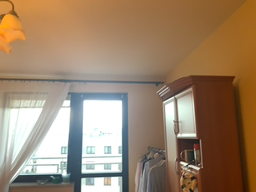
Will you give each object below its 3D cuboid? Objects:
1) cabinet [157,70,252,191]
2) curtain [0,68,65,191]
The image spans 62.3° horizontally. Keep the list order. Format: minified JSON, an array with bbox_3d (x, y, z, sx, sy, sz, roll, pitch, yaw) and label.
[{"bbox_3d":[0.590,0.600,1.870,0.390,1.440,0.870,1,-10,-9],"label":"cabinet"},{"bbox_3d":[-1.870,0.760,3.020,1.760,2.340,0.180,1,-10,-7],"label":"curtain"}]
